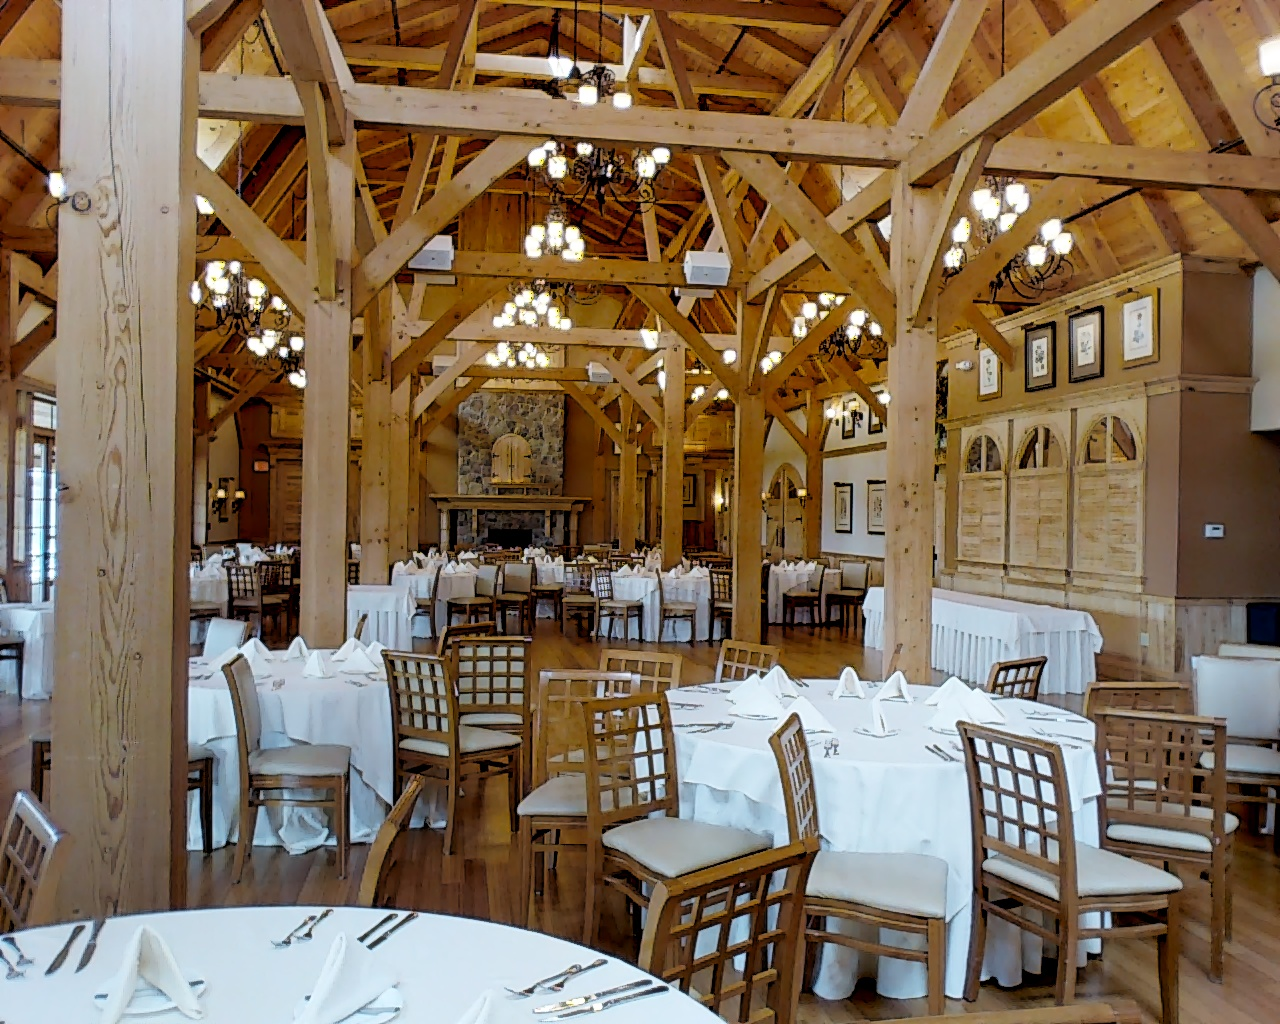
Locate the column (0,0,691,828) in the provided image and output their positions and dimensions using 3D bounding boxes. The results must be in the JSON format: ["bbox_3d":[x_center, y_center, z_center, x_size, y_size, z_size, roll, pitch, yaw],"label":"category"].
[{"bbox_3d":[-2.120,-0.860,7.480,4.030,4.739,2.720,1,1,35],"label":"column"}]

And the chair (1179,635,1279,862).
[{"bbox_3d":[2.920,1.100,5.110,0.520,0.930,0.630,1,0,18],"label":"chair"}]

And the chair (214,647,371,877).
[{"bbox_3d":[-1.540,1.090,4.810,0.590,0.900,0.510,1,0,-10],"label":"chair"}]

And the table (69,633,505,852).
[{"bbox_3d":[-1.770,1.140,5.760,1.600,0.720,1.650,1,0,12],"label":"table"}]

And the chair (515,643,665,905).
[{"bbox_3d":[-0.210,1.010,4.280,0.540,0.890,0.600,1,0,-5],"label":"chair"}]

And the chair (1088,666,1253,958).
[{"bbox_3d":[1.990,1.070,4.000,0.450,0.880,0.590,1,1,35],"label":"chair"}]

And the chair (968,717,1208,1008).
[{"bbox_3d":[1.430,1.100,3.470,0.540,0.770,0.460,1,0,-10],"label":"chair"}]

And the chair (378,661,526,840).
[{"bbox_3d":[-0.930,1.150,5.300,0.490,0.720,0.520,2,1,44],"label":"chair"}]

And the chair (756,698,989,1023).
[{"bbox_3d":[0.740,1.090,3.350,0.640,0.890,0.470,1,1,19],"label":"chair"}]

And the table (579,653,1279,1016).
[{"bbox_3d":[0.940,1.140,4.480,2.140,0.790,2.130,1,0,-10],"label":"table"}]
